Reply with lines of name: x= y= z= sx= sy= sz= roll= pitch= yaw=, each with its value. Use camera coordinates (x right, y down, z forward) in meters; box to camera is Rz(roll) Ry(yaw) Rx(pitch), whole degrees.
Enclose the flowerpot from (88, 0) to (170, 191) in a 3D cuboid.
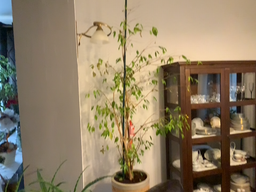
flowerpot: x=-0.010 y=0.000 z=2.260 sx=0.680 sy=1.790 sz=0.600 roll=-3 pitch=5 yaw=-16
